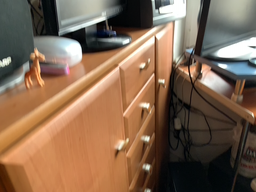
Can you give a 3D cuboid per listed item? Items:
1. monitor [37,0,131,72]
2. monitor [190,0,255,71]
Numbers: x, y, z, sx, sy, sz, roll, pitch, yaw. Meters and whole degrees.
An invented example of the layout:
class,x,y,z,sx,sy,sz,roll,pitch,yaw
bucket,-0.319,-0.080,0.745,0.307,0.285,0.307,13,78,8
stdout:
class,x,y,z,sx,sy,sz,roll,pitch,yaw
monitor,-0.090,-0.320,0.560,0.050,0.350,0.430,7,35,17
monitor,0.440,-0.360,0.820,0.540,0.370,0.050,-27,38,-32
